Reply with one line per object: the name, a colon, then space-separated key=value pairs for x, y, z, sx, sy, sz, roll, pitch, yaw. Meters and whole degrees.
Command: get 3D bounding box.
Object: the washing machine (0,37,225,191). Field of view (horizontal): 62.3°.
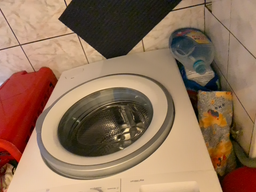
washing machine: x=-0.040 y=0.200 z=0.900 sx=0.600 sy=0.840 sz=0.470 roll=-10 pitch=128 yaw=8
